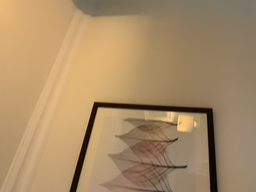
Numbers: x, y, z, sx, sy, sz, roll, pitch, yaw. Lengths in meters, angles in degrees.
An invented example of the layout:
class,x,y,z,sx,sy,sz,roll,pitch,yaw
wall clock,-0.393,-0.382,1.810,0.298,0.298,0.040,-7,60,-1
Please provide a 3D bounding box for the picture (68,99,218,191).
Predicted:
class,x,y,z,sx,sy,sz,roll,pitch,yaw
picture,0.090,0.480,1.340,0.060,0.880,0.980,74,-157,-57
